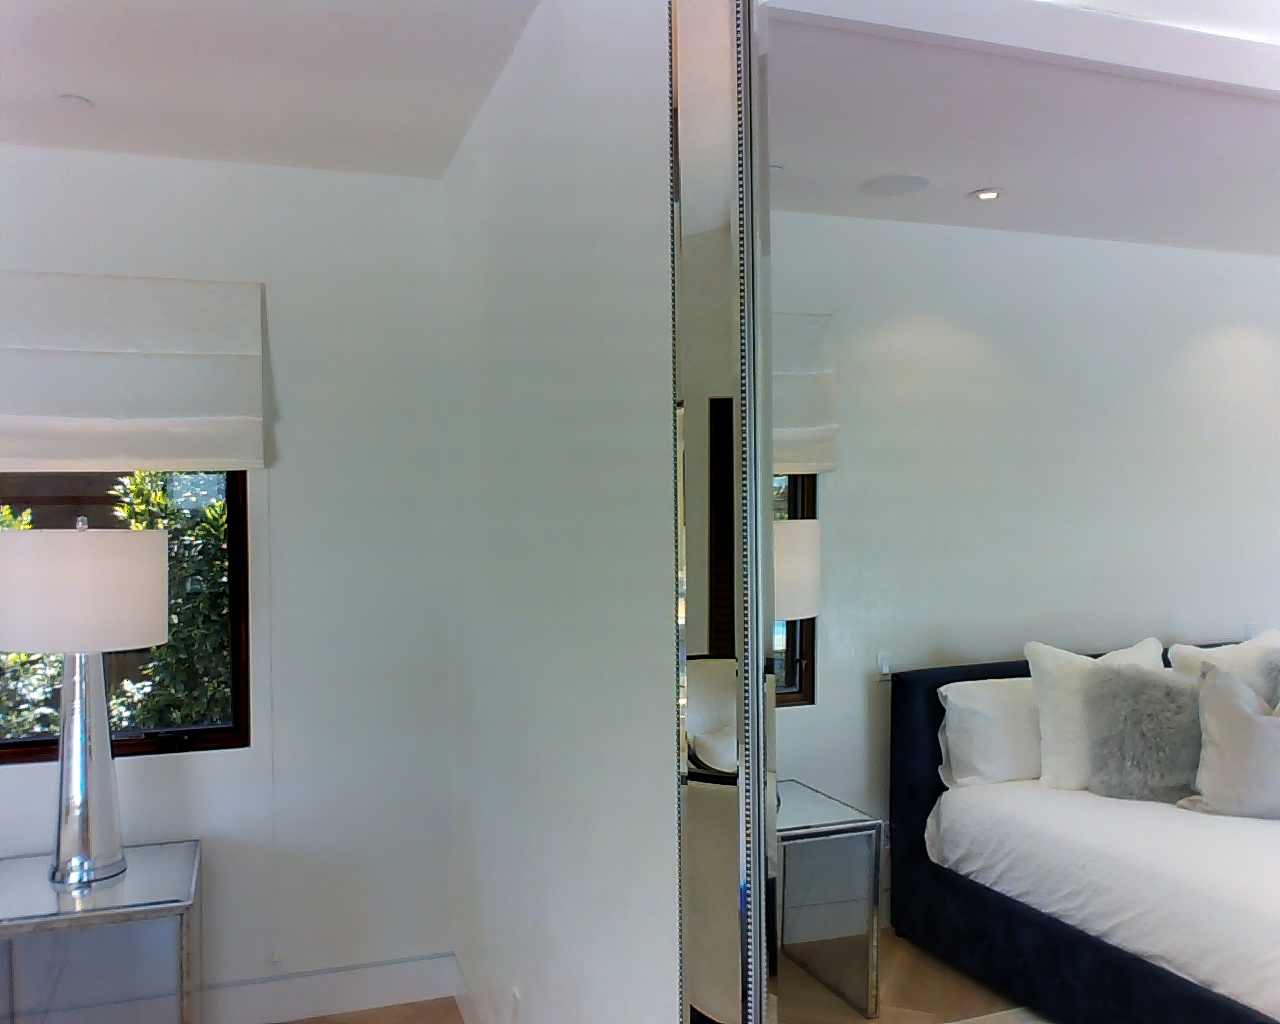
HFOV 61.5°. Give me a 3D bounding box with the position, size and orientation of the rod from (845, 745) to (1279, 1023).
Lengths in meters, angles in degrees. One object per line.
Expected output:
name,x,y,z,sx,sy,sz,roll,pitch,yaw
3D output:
rod,1.320,1.240,2.960,0.880,0.730,1.940,-1,0,30
